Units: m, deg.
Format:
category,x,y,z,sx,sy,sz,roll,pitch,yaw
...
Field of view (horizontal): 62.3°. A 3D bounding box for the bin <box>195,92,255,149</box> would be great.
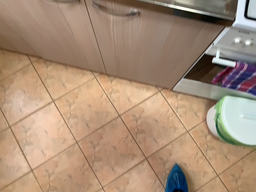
category,x,y,z,sx,sy,sz,roll,pitch,yaw
bin,0.590,0.150,1.170,0.310,0.310,0.210,14,78,2
